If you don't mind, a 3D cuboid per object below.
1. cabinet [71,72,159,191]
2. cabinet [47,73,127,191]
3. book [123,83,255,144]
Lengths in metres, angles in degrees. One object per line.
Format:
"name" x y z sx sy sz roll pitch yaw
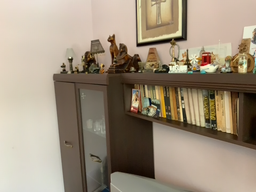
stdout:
"cabinet" -0.080 0.370 1.510 0.430 1.050 0.400 -8 10 -35
"cabinet" -0.340 0.570 1.870 0.470 1.520 0.450 -8 10 -35
"book" 0.330 0.050 0.930 0.140 0.160 1.020 -8 10 -35
